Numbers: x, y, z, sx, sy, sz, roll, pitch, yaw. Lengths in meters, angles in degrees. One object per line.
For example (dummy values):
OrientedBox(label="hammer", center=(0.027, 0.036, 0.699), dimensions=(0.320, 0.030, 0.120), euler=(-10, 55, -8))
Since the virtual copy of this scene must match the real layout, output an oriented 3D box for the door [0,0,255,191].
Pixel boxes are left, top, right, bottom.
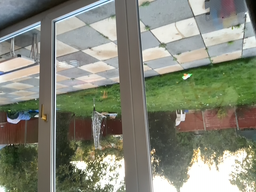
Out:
OrientedBox(label="door", center=(-0.290, 0.150, 1.720), dimensions=(2.550, 2.040, 0.090), euler=(-10, 167, 26))
